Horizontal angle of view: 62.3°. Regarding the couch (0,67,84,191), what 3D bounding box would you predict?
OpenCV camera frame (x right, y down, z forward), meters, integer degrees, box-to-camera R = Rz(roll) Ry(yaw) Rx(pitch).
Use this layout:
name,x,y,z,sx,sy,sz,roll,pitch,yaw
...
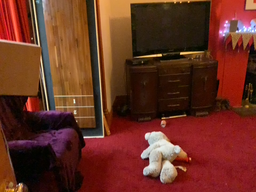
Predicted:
name,x,y,z,sx,sy,sz,roll,pitch,yaw
couch,-1.030,0.310,2.060,0.930,1.010,0.850,0,20,2
